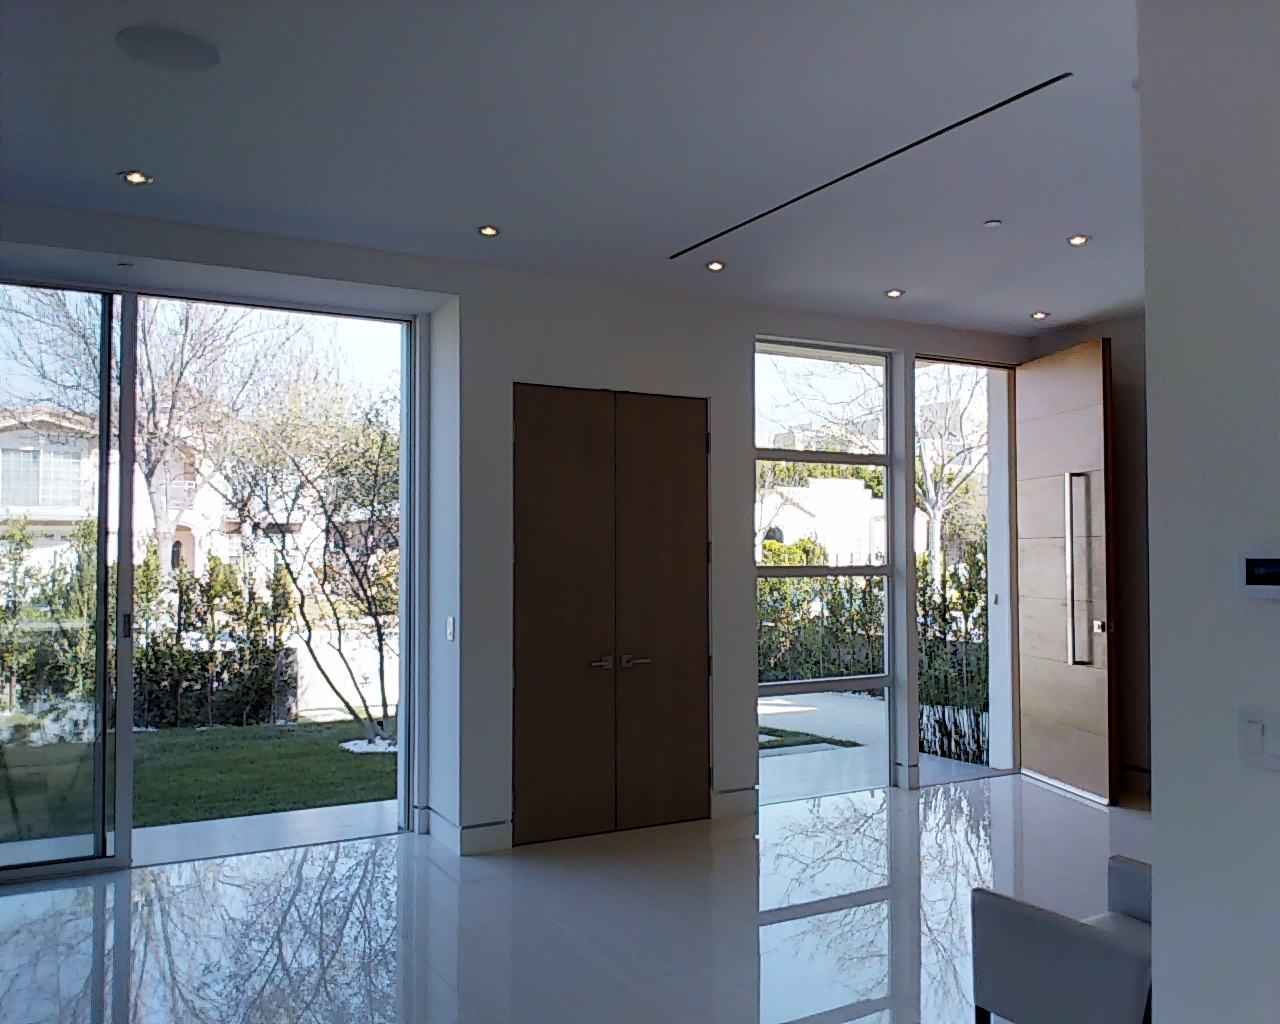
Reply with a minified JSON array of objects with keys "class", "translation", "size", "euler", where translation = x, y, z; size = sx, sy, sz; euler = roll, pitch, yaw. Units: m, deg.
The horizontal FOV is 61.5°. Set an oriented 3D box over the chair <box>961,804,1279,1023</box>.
[{"class":"chair","translation":[1.459,1.281,3.000],"size":[0.760,0.680,0.760],"euler":[1,-2,-29]}]
